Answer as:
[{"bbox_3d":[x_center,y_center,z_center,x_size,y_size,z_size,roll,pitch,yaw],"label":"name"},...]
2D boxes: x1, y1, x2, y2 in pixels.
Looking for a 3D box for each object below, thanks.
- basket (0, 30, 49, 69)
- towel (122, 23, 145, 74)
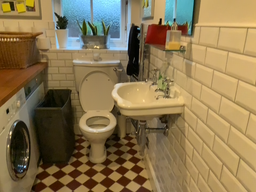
[{"bbox_3d":[-1.120,-0.450,1.970,0.610,0.300,0.490,-1,19,-6],"label":"basket"},{"bbox_3d":[0.040,-0.470,2.060,0.150,0.450,0.310,-2,19,-10],"label":"towel"}]
